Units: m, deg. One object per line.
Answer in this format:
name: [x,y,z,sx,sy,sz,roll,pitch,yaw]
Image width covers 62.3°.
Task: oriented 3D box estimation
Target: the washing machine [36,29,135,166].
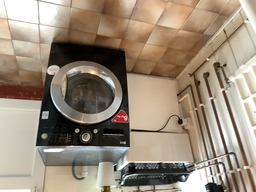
washing machine: [-0.380,0.080,1.790,0.590,0.850,0.770,5,151,-18]
